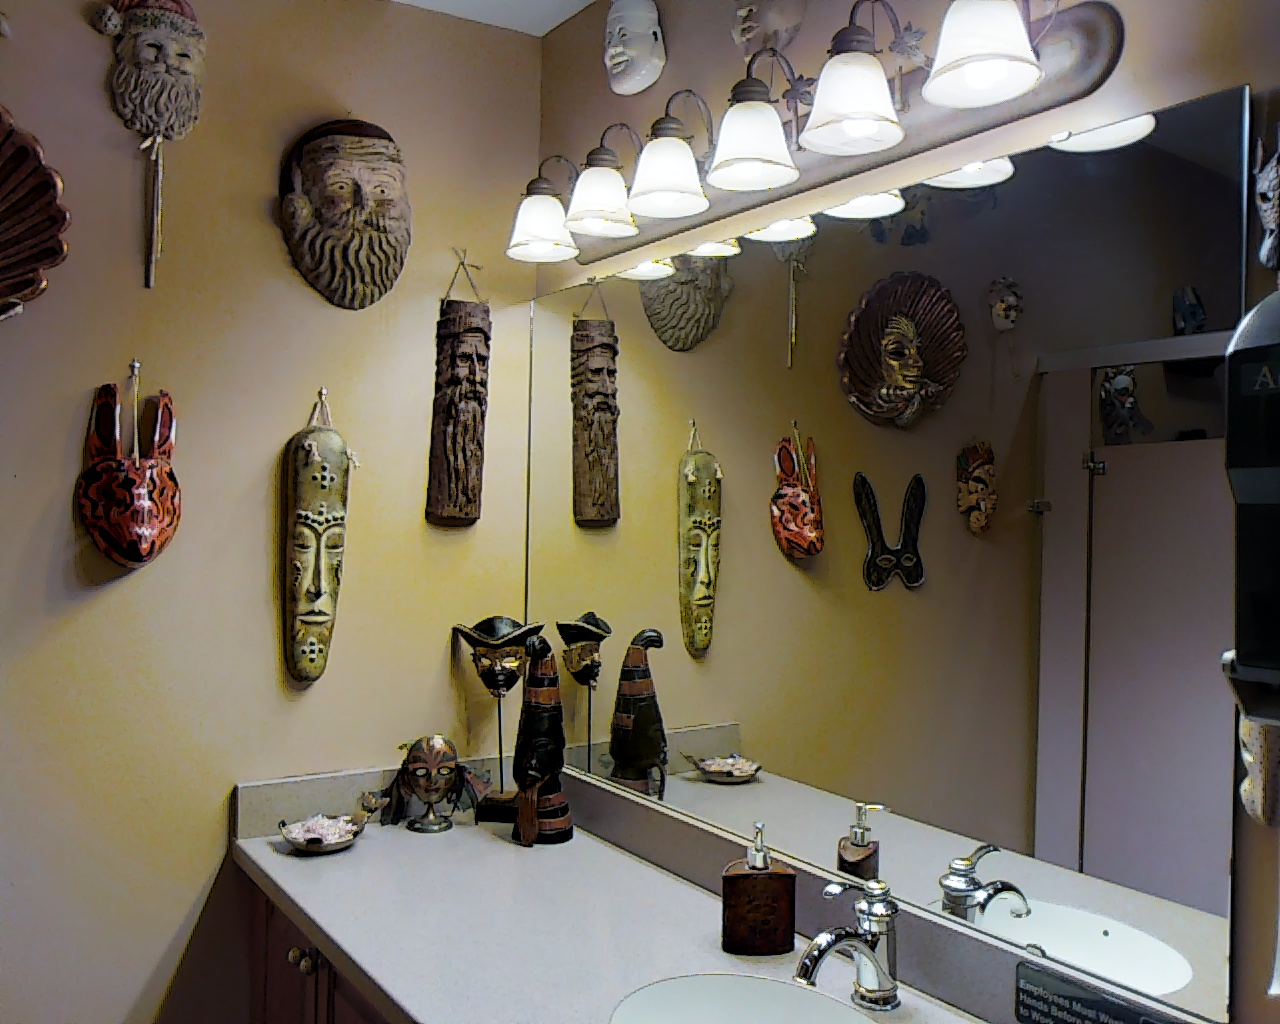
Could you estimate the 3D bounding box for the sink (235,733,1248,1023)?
[{"bbox_3d":[-0.060,0.610,1.560,0.640,0.260,1.510,1,-1,-34],"label":"sink"}]
